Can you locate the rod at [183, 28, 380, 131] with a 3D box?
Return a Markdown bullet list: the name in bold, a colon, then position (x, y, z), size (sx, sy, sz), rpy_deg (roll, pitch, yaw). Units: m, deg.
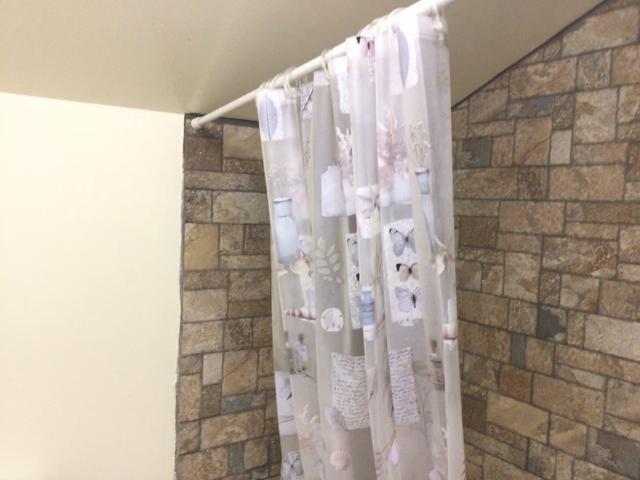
- **rod**: position (-0.140, -0.350, 1.370), size (0.090, 0.090, 0.750), rpy_deg (-1, 3, -35)
